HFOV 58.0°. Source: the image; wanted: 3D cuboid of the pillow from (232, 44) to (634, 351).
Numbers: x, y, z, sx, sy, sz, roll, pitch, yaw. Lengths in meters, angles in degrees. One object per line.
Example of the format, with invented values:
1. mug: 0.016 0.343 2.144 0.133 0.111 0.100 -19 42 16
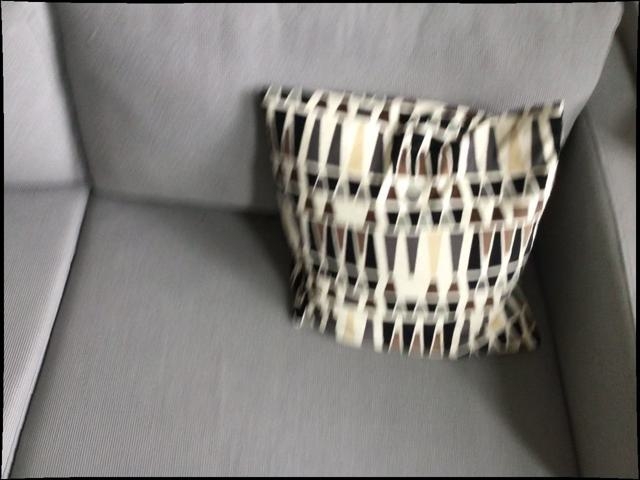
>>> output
1. pillow: 0.140 -0.050 0.950 0.499 0.340 0.381 1 65 0

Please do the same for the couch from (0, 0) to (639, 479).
1. couch: -0.479 0.030 1.120 2.105 0.770 1.012 1 65 0
